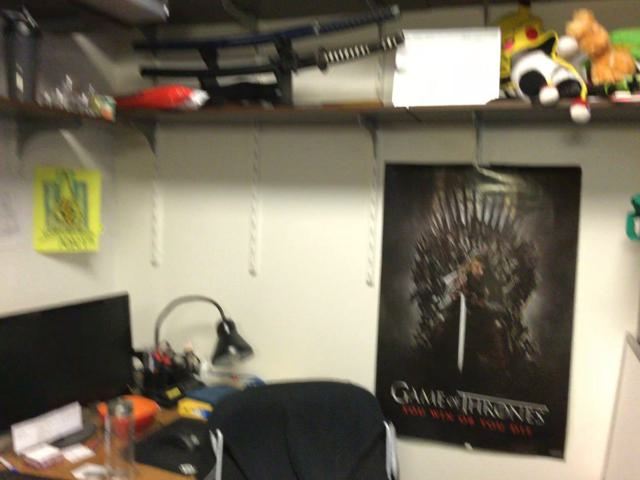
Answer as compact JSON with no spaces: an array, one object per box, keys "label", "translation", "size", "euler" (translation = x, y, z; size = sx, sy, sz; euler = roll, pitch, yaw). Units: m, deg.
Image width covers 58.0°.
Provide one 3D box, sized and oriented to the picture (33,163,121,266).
[{"label":"picture","translation":[-0.840,-0.090,2.020],"size":[0.100,0.330,0.300],"euler":[3,3,21]}]
